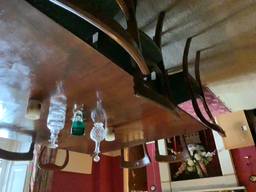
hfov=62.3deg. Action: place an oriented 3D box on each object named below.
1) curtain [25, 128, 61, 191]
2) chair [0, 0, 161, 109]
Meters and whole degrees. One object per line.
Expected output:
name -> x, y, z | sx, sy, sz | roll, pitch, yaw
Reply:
curtain -> -1.510, 1.780, 3.600 | 0.240, 2.430, 0.410 | -24, 146, 34
chair -> -0.250, -0.490, 0.970 | 0.520, 0.880, 0.490 | -22, 147, 32
